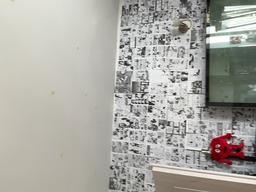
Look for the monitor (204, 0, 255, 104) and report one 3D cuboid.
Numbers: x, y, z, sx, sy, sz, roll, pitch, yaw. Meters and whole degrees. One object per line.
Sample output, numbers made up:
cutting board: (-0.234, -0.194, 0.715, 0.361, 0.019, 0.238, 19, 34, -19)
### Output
monitor: (0.930, -0.440, 1.580, 0.060, 0.660, 1.000, 20, -108, -69)
